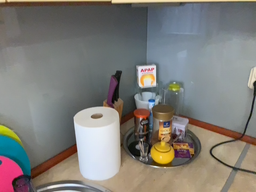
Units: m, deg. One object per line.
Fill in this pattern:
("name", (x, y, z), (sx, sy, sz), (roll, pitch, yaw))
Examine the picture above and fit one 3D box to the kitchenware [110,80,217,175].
("kitchenware", (0.160, 0.110, 1.000), (0.370, 0.220, 0.310), (19, 30, 37))
